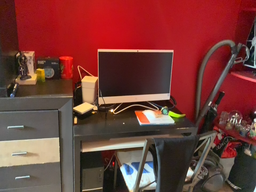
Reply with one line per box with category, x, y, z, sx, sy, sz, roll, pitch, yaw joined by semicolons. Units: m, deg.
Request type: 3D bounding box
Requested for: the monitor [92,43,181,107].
monitor;0.060;-0.130;1.510;0.570;0.400;0.090;3;22;-21
